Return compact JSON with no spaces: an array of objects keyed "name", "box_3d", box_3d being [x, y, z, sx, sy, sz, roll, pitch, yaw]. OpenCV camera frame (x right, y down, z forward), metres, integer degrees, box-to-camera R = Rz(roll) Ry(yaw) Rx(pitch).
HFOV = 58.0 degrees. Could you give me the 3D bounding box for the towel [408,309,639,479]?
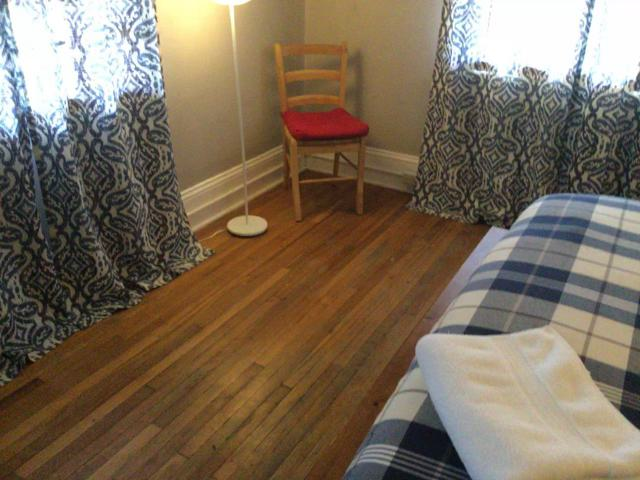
[{"name":"towel","box_3d":[0.370,0.290,1.010,0.300,0.100,0.390,-6,28,-12]}]
